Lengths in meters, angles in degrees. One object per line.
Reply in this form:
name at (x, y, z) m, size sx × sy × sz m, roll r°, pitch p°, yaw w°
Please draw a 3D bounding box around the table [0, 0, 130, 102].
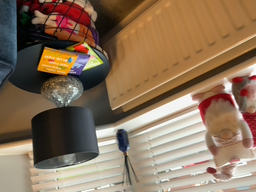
table at (-0.340, -0.270, 1.030) m, size 0.450 × 0.400 × 0.450 m, roll -28°, pitch 154°, yaw 34°
